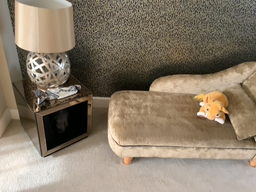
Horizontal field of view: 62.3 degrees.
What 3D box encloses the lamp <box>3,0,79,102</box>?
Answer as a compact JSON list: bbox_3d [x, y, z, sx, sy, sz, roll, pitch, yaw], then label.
[{"bbox_3d":[-0.570,-0.370,1.490,0.370,0.620,0.500,-5,37,-19],"label":"lamp"}]
